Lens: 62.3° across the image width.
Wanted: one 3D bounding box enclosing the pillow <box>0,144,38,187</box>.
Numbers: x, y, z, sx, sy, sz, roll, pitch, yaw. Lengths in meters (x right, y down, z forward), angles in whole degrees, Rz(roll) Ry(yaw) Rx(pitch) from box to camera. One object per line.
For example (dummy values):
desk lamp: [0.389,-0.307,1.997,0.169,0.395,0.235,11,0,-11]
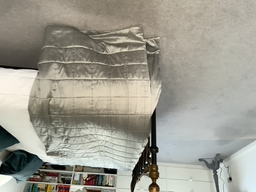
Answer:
pillow: [-1.160,0.730,2.170,0.180,0.300,0.580,33,153,5]
